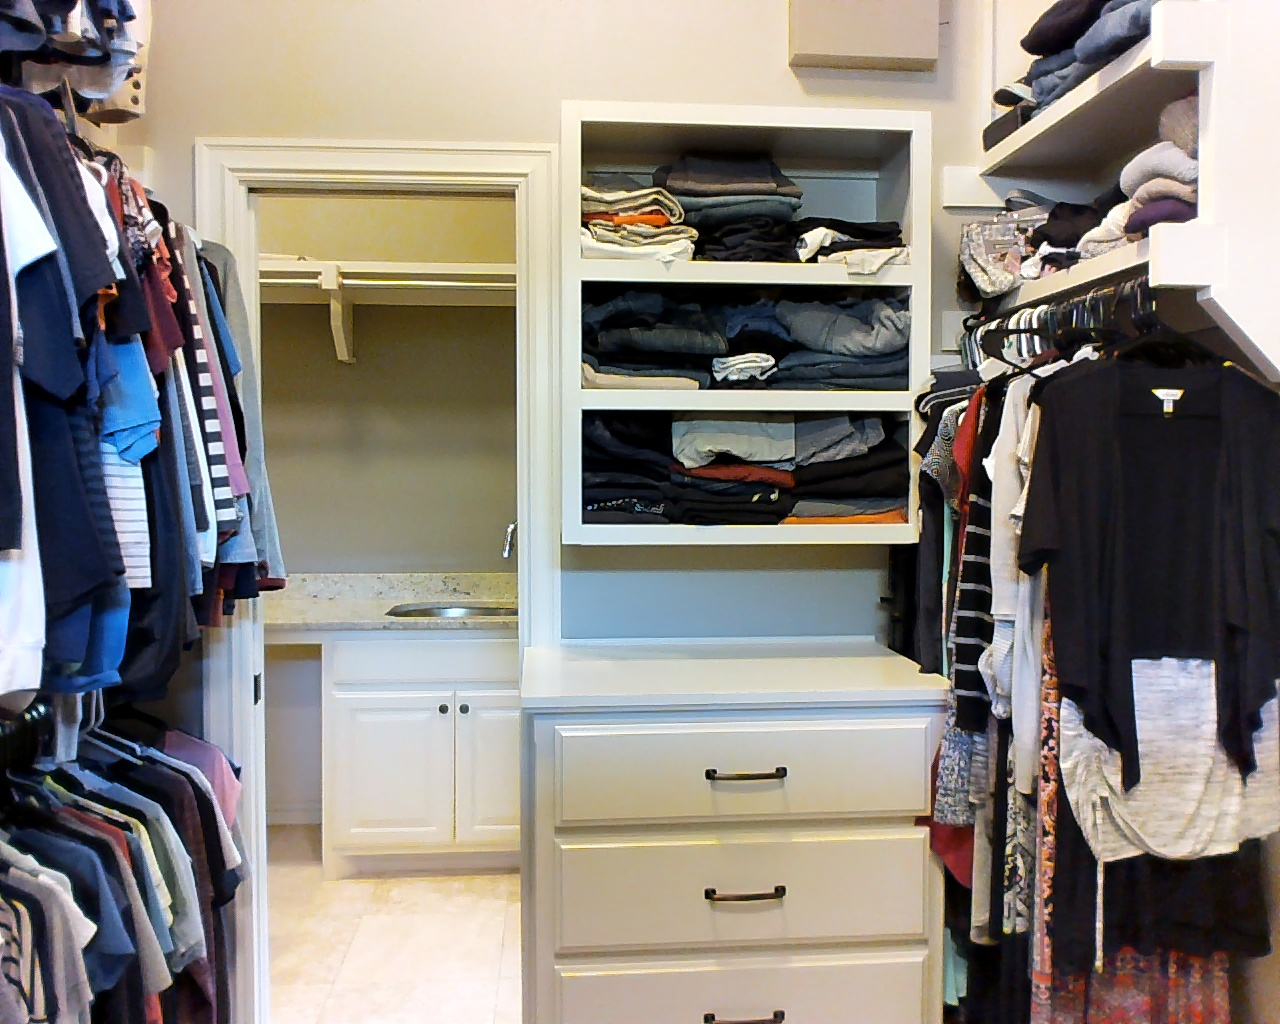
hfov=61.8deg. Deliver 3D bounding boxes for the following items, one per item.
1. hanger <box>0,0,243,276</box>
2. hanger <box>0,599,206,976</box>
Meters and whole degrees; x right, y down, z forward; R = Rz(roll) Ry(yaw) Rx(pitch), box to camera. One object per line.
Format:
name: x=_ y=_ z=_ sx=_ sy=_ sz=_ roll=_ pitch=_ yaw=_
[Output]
hanger: x=-0.950 y=-0.610 z=1.770 sx=0.260 sy=0.230 sz=1.060 roll=0 pitch=2 yaw=-4
hanger: x=-1.100 y=0.430 z=1.810 sx=0.340 sy=0.440 sz=1.130 roll=0 pitch=2 yaw=-4
